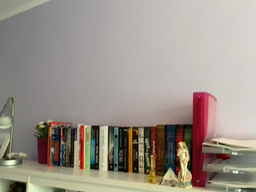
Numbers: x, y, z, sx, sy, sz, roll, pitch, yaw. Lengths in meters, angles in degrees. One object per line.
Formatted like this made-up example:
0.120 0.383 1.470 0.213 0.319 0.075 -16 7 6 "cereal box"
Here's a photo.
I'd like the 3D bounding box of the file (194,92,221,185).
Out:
0.320 0.160 0.840 0.050 0.310 0.250 -5 -11 28 "file"
